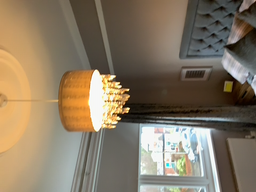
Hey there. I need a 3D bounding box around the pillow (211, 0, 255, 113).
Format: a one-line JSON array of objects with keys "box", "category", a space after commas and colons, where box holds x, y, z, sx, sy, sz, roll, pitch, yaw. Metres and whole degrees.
[{"box": [1.220, -0.540, 2.020, 1.480, 0.350, 0.780, 82, -171, -56], "category": "pillow"}]
